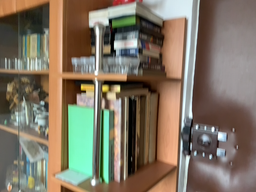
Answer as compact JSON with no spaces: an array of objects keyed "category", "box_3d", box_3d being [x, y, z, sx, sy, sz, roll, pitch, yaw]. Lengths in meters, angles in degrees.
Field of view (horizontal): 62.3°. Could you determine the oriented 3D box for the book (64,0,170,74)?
[{"category":"book","box_3d":[-0.030,-0.270,0.820,0.240,0.340,0.330,7,6,35]}]
